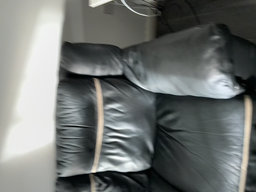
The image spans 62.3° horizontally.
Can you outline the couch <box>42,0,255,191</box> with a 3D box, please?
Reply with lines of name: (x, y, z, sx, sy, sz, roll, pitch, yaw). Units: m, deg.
couch: (0.130, 0.810, 1.400, 1.000, 0.960, 2.380, 13, 105, 50)
